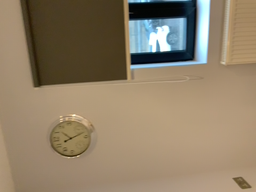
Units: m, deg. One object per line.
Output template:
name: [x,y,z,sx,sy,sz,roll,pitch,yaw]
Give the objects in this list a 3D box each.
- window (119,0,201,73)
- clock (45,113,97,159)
window: [0.270,-0.970,1.790,0.070,0.710,1.520,-113,20,-71]
clock: [-0.460,0.330,1.760,0.060,0.380,0.360,-112,19,-70]
